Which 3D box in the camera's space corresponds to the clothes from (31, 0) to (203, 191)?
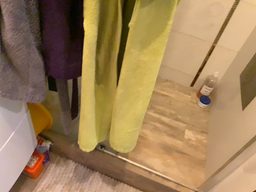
[{"bbox_3d":[0.020,-0.310,0.450,0.330,1.680,0.300,25,46,9],"label":"clothes"}]
